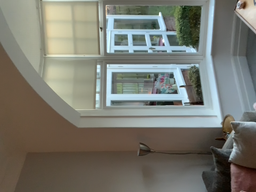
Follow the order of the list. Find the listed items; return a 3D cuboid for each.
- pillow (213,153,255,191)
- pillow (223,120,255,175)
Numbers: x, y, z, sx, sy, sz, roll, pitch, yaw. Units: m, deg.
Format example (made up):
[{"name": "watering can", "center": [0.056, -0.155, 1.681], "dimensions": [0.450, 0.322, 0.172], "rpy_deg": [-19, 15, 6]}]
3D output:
[{"name": "pillow", "center": [1.110, 0.790, 1.870], "dimensions": [0.430, 0.510, 0.220], "rpy_deg": [62, -155, 5]}, {"name": "pillow", "center": [1.080, 0.410, 1.770], "dimensions": [0.330, 0.400, 0.200], "rpy_deg": [63, -160, -4]}]
